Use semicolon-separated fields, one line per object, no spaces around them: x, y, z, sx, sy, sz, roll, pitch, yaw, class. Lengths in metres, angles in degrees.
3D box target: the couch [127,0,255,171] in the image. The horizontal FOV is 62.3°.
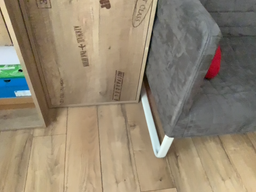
0.680;-0.210;1.100;1.210;0.700;0.790;-3;48;-10;couch
